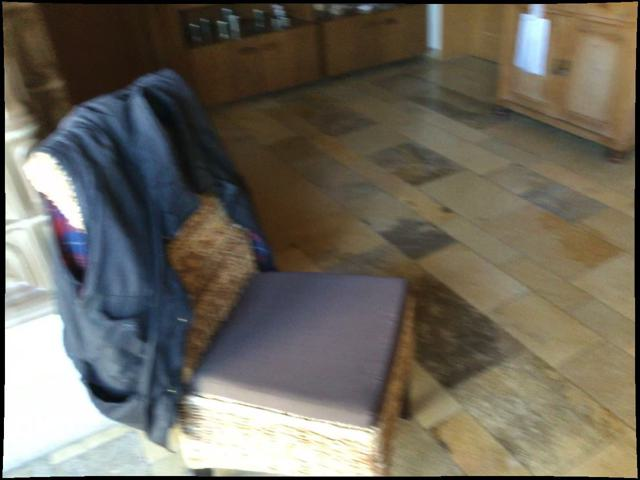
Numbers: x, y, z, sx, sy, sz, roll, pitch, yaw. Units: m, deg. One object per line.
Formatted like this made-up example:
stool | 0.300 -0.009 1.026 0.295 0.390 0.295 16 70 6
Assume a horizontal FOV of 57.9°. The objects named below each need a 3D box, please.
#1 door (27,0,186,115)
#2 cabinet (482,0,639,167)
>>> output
door | -1.489 -1.872 3.750 0.909 2.001 0.090 -19 37 -23
cabinet | 1.479 -1.021 3.180 0.540 0.821 0.970 -19 37 -23
